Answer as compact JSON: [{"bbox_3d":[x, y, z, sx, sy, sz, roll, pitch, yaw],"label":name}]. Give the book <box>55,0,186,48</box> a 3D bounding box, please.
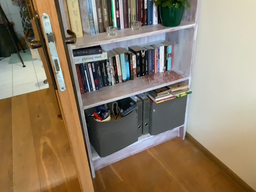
[{"bbox_3d":[-0.030,-0.520,1.320,0.750,0.240,0.270,-17,34,-22],"label":"book"}]
